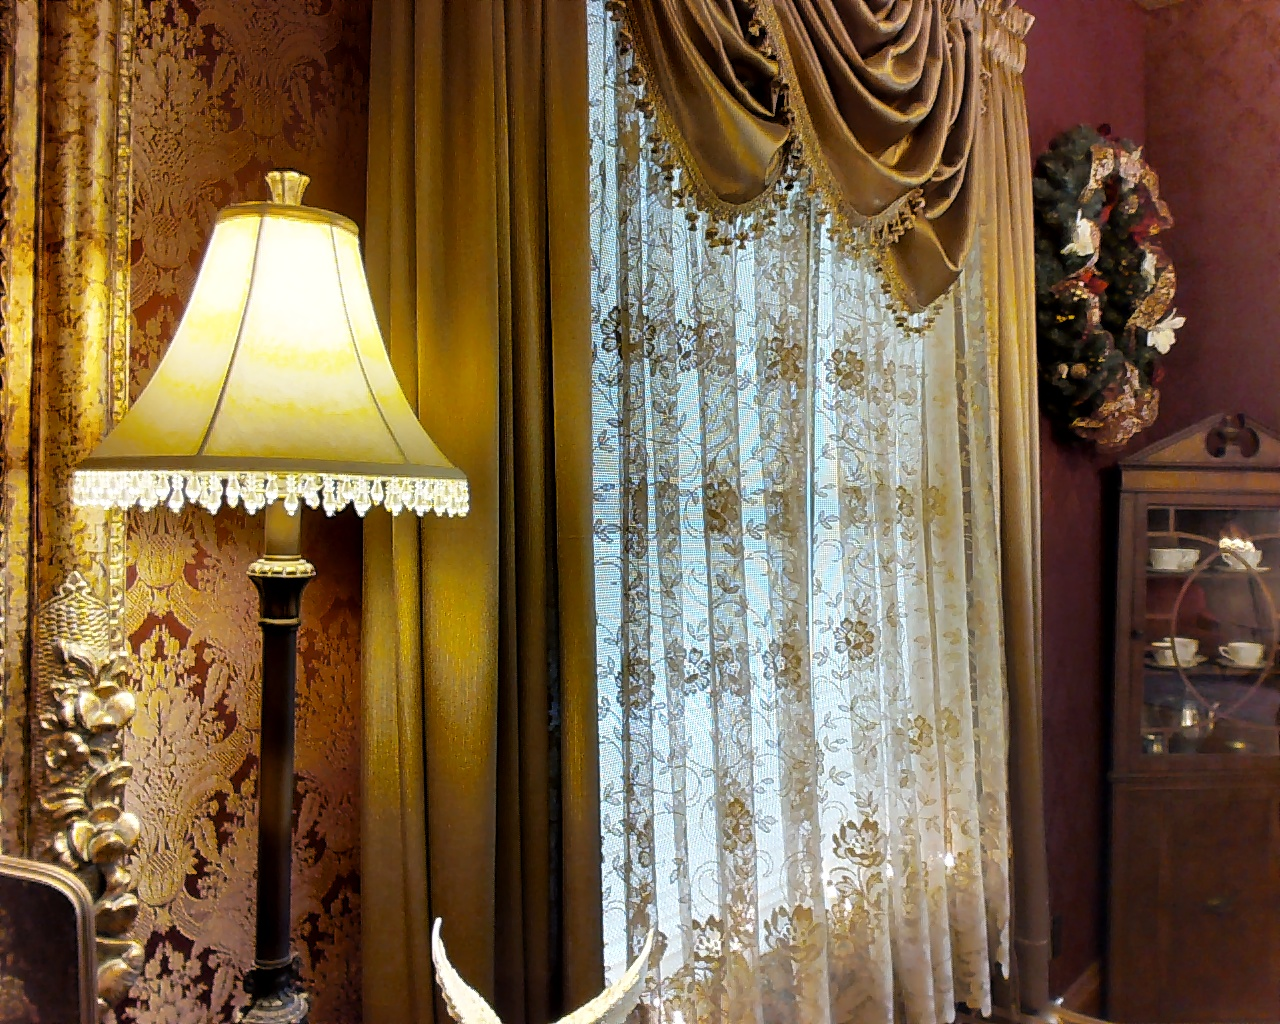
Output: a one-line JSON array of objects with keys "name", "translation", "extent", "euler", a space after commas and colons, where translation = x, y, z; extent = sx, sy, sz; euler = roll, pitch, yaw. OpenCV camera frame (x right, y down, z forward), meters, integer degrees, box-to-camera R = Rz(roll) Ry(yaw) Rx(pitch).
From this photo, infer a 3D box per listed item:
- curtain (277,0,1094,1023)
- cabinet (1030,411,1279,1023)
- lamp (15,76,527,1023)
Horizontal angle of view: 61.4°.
[{"name": "curtain", "translation": [0.300, -0.010, 1.680], "extent": [0.240, 2.381, 1.770], "euler": [0, 0, 40]}, {"name": "cabinet", "translation": [1.569, 0.620, 3.140], "extent": [0.710, 1.781, 0.380], "euler": [1, 0, -5]}, {"name": "lamp", "translation": [-0.280, 0.150, 0.830], "extent": [0.260, 0.820, 0.270], "euler": [0, 0, 40]}]
